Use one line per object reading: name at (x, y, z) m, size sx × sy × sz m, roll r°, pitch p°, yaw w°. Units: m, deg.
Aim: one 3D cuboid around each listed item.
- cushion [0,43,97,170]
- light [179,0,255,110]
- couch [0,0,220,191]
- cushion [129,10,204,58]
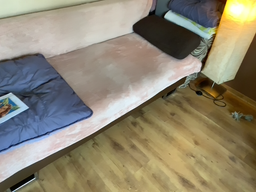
cushion at (-0.700, 0.000, 1.290) m, size 0.700 × 0.190 × 0.750 m, roll -28°, pitch 53°, yaw -35°
light at (0.950, -0.610, 1.970) m, size 0.380 × 1.570 × 0.380 m, roll 36°, pitch 47°, yaw 28°
couch at (-0.320, -0.240, 1.770) m, size 2.110 × 0.750 × 0.980 m, roll -28°, pitch 53°, yaw -35°
cushion at (0.370, -0.650, 2.150) m, size 0.320 × 0.160 × 0.680 m, roll -29°, pitch 53°, yaw -36°
